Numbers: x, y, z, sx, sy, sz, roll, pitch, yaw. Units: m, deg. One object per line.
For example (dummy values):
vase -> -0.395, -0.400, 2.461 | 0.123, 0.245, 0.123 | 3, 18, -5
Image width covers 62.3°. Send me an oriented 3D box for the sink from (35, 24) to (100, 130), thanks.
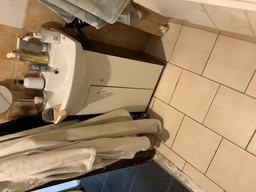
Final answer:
sink -> -0.390, -0.120, 1.280 | 0.390, 0.110, 0.510 | 38, 115, 40
